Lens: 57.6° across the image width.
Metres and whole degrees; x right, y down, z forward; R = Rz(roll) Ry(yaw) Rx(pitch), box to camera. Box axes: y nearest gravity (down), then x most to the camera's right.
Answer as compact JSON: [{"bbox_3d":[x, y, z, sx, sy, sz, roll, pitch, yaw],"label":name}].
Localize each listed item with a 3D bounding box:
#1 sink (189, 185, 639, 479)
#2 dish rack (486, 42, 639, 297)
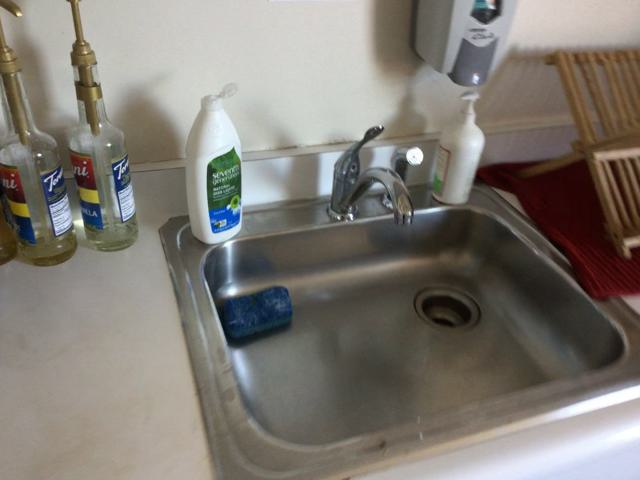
[{"bbox_3d":[0.160,0.110,1.000,0.680,0.140,0.460,-8,35,-18],"label":"sink"},{"bbox_3d":[0.680,-0.170,1.050,0.560,0.260,0.410,-8,35,-18],"label":"dish rack"}]
